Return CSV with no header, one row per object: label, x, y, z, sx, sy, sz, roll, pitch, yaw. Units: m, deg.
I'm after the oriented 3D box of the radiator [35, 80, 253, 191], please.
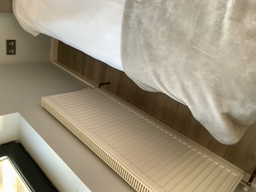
radiator,0.020,0.200,1.310,1.250,0.610,0.100,29,118,35
